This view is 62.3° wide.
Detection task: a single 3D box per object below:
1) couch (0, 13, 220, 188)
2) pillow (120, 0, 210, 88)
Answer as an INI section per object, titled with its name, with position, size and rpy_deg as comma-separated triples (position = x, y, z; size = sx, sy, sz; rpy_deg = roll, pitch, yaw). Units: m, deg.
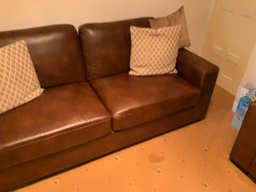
[couch]
position = -0.330, -0.120, 1.900
size = 2.000, 0.850, 0.830
rpy_deg = -15, 38, -23
[pillow]
position = 0.320, -0.510, 2.100
size = 0.610, 0.580, 0.400
rpy_deg = 20, 31, -15
